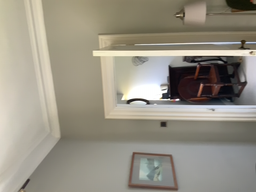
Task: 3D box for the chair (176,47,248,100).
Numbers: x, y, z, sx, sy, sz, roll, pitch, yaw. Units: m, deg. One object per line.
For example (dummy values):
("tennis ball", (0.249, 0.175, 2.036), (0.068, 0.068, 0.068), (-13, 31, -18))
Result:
("chair", (1.450, -0.390, 3.870), (0.690, 0.990, 0.690), (79, -168, -64))
